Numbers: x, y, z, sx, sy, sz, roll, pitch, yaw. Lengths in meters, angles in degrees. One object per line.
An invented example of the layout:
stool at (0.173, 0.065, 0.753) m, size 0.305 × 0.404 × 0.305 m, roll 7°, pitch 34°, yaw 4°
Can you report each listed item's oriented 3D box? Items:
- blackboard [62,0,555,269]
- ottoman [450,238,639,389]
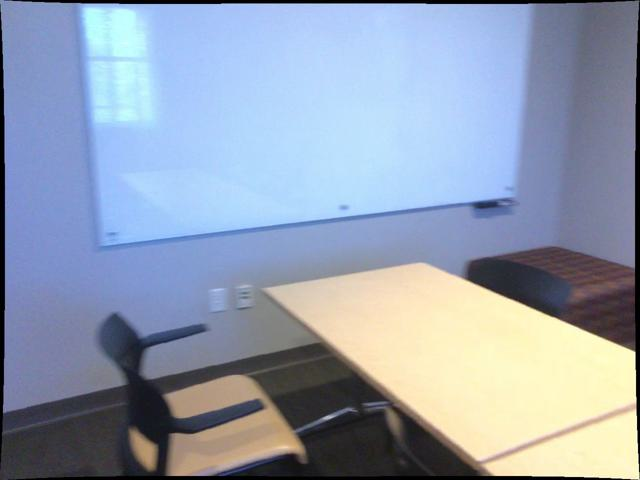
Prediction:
blackboard at (0.090, -0.721, 2.820) m, size 2.397 × 1.392 × 0.330 m, roll -7°, pitch 17°, yaw -25°
ottoman at (1.308, 0.361, 3.260) m, size 0.789 × 0.491 × 0.750 m, roll -7°, pitch 17°, yaw -25°
